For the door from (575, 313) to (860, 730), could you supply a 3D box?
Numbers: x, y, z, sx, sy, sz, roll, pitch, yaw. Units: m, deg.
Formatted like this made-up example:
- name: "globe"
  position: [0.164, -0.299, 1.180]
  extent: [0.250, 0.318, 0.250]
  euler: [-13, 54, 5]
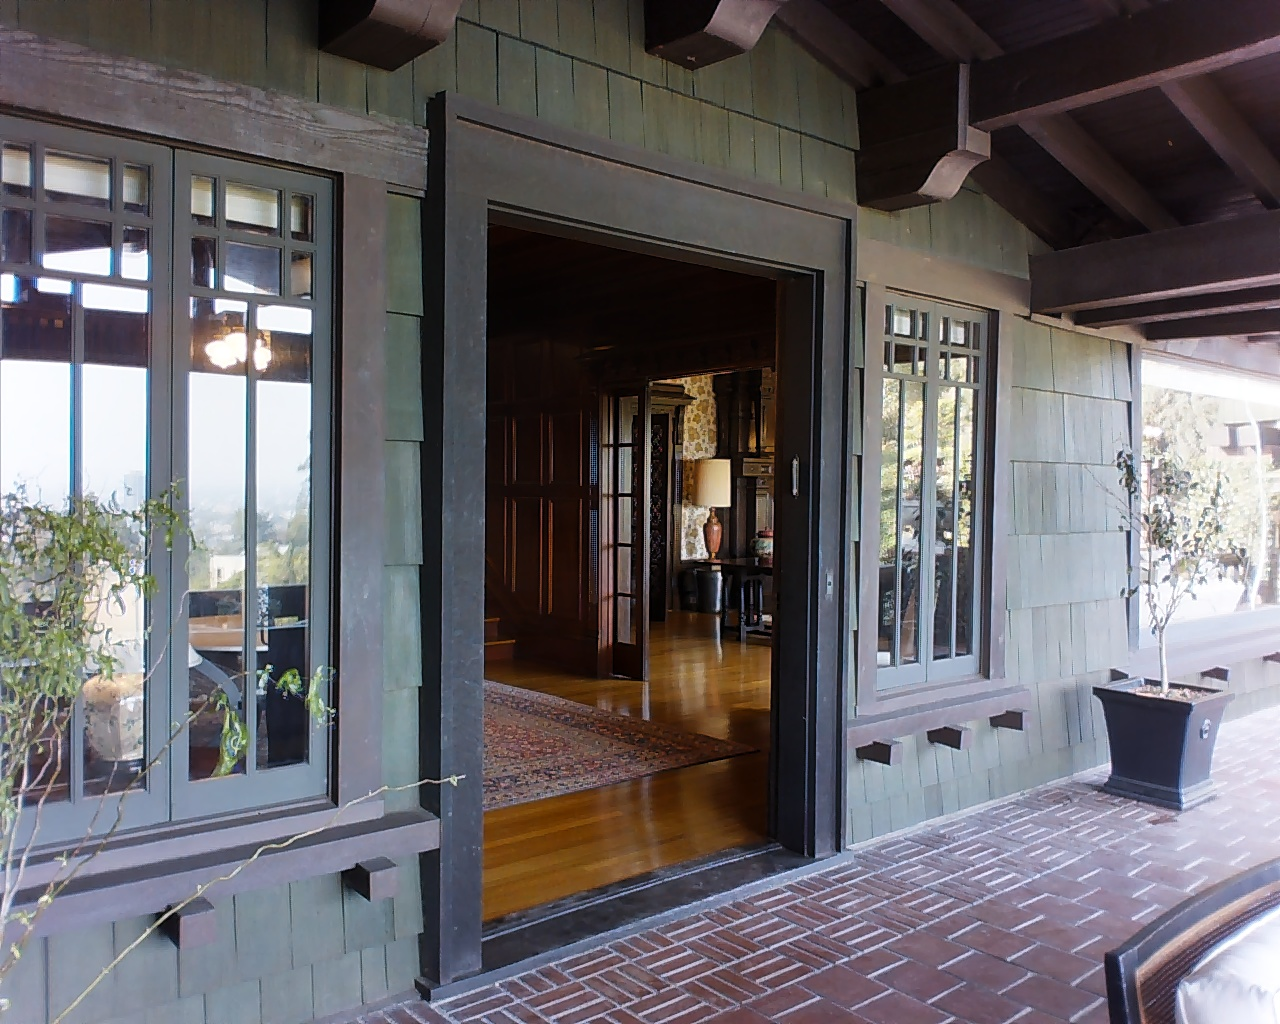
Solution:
- name: "door"
  position: [0.450, 0.040, 8.020]
  extent: [0.280, 2.670, 2.710]
  euler: [0, 1, -40]
